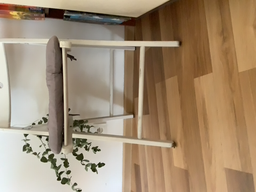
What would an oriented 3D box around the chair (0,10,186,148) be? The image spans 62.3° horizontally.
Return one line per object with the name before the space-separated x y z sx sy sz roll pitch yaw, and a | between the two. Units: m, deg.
chair | -0.210 -0.080 0.950 0.490 0.740 0.410 -160 70 -68
